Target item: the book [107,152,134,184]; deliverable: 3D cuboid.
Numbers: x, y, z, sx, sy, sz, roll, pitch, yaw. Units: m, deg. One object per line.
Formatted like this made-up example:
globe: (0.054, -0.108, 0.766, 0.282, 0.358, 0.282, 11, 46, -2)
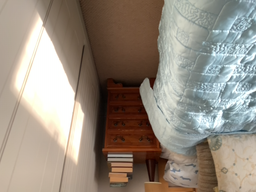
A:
book: (-0.050, 0.560, 1.630, 0.190, 0.180, 0.240, 0, 148, 0)
